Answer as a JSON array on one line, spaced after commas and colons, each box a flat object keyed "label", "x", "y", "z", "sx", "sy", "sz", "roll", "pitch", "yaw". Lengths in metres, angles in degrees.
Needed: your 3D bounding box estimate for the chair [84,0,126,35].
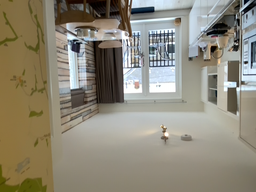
[{"label": "chair", "x": -0.340, "y": -1.410, "z": 3.250, "sx": 0.520, "sy": 0.820, "sz": 0.490, "roll": 0, "pitch": -175, "yaw": 11}]
